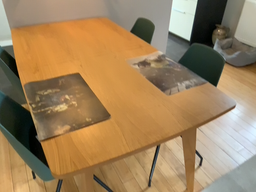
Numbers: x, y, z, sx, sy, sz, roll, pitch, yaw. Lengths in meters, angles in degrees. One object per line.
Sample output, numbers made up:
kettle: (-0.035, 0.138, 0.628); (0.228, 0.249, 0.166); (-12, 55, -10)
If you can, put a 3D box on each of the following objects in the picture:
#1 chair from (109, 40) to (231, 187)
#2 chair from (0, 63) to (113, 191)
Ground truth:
chair: (0.220, 0.110, 1.500); (0.540, 0.790, 0.490); (-15, 39, -22)
chair: (-0.410, 0.310, 1.190); (0.510, 0.790, 0.430); (-18, 40, -25)
